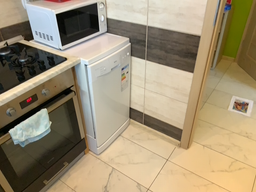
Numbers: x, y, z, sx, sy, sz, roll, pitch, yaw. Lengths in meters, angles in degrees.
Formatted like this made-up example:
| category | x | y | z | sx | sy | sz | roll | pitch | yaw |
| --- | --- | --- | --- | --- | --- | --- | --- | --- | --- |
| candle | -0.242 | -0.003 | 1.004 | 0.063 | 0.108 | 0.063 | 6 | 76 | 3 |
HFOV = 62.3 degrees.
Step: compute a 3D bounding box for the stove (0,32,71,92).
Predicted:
| category | x | y | z | sx | sy | sz | roll | pitch | yaw |
| --- | --- | --- | --- | --- | --- | --- | --- | --- | --- |
| stove | -0.740 | -0.200 | 1.200 | 0.540 | 0.050 | 0.600 | 22 | 42 | 28 |
